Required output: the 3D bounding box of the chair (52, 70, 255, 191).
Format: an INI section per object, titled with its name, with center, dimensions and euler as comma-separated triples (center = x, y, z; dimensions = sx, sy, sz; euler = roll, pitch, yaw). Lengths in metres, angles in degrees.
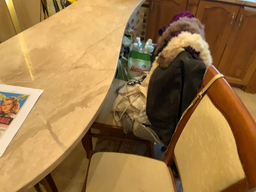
[chair]
center = 0.070, 0.400, 0.940
dimensions = 0.520, 0.970, 0.410
euler = 0, 44, -4
